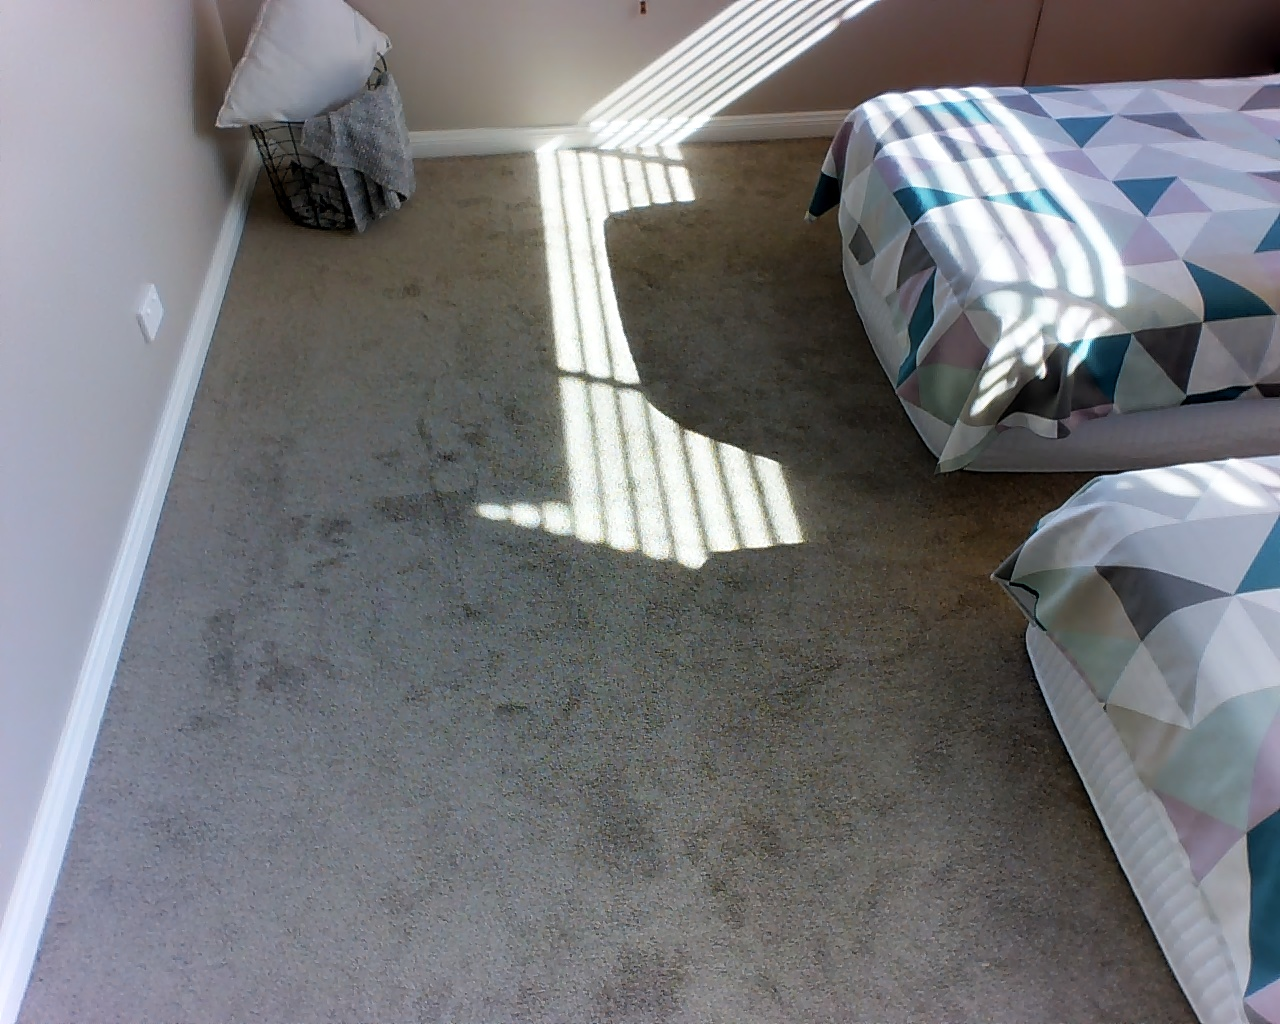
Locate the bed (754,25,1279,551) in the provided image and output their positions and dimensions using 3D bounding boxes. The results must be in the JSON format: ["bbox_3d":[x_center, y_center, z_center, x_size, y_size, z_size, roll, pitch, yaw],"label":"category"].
[{"bbox_3d":[1.440,-0.640,2.520,2.070,0.490,1.280,-6,44,-6],"label":"bed"}]

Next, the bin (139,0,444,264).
[{"bbox_3d":[-0.870,-1.150,2.850,0.580,0.740,0.570,-4,44,-4],"label":"bin"}]
